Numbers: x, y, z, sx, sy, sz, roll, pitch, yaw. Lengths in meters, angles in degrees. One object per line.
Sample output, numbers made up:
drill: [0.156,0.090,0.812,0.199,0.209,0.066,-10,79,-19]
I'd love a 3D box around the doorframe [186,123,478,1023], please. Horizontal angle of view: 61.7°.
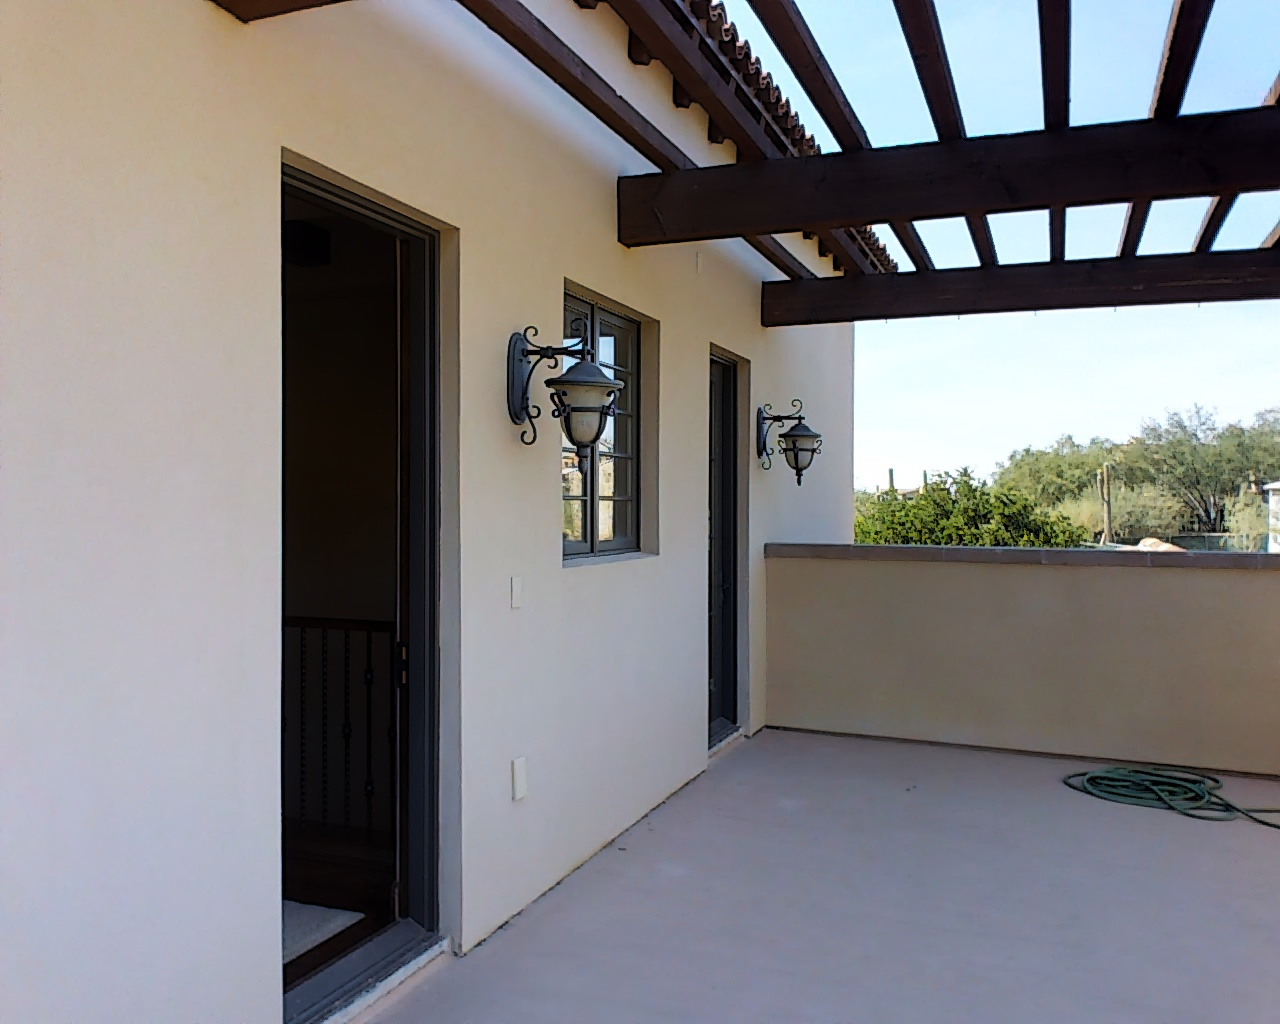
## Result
doorframe: [-0.900,0.250,3.310,0.300,2.530,1.000,1,1,21]
